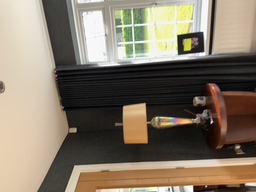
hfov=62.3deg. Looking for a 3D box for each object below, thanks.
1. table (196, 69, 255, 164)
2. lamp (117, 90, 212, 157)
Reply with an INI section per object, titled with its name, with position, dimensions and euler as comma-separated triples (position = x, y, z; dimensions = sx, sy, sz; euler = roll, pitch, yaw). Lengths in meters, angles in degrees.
[table]
position = 1.130, 0.170, 2.150
dimensions = 0.680, 0.650, 0.690
euler = -89, -5, -68
[lamp]
position = 0.360, 0.280, 2.300
dimensions = 0.440, 0.900, 0.520
euler = -89, -5, -68
